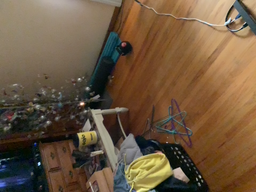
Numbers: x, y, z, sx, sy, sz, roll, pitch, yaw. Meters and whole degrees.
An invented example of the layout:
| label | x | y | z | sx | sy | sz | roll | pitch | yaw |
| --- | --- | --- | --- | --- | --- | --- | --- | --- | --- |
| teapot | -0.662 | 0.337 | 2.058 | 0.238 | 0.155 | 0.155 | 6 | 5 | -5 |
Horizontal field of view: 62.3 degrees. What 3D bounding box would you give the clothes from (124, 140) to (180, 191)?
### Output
| label | x | y | z | sx | sy | sz | roll | pitch | yaw |
| --- | --- | --- | --- | --- | --- | --- | --- | --- | --- |
| clothes | 0.170 | 0.520 | 1.590 | 0.230 | 0.320 | 0.200 | 101 | 146 | -54 |
